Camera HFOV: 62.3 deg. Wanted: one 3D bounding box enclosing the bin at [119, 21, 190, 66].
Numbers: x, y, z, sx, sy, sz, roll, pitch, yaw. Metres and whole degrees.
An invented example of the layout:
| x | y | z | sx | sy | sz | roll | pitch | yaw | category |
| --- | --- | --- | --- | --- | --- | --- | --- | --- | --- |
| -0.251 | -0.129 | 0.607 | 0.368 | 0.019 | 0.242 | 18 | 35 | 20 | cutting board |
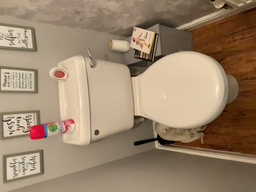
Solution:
| x | y | z | sx | sy | sz | roll | pitch | yaw | category |
| --- | --- | --- | --- | --- | --- | --- | --- | --- | --- |
| 0.170 | -0.310 | 1.350 | 0.280 | 0.340 | 0.180 | -6 | 88 | 49 | bin |

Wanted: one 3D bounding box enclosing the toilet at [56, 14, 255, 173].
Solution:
| x | y | z | sx | sy | sz | roll | pitch | yaw | category |
| --- | --- | --- | --- | --- | --- | --- | --- | --- | --- |
| 0.150 | -0.010 | 1.110 | 0.690 | 0.770 | 0.450 | -5 | 89 | 49 | toilet |
